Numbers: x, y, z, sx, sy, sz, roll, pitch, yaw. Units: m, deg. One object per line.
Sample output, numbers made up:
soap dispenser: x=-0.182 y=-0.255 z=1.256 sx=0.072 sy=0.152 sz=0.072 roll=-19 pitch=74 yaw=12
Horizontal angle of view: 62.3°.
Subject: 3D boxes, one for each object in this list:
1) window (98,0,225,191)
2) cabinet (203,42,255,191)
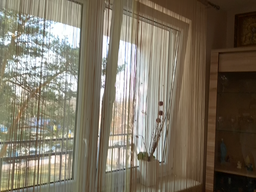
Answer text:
window: x=0.330 y=-0.080 z=1.610 sx=1.050 sy=1.660 sz=0.210 roll=4 pitch=-3 yaw=-37
cabinet: x=1.040 y=0.600 z=1.850 sx=0.650 sy=2.030 sz=0.440 roll=2 pitch=-2 yaw=30
